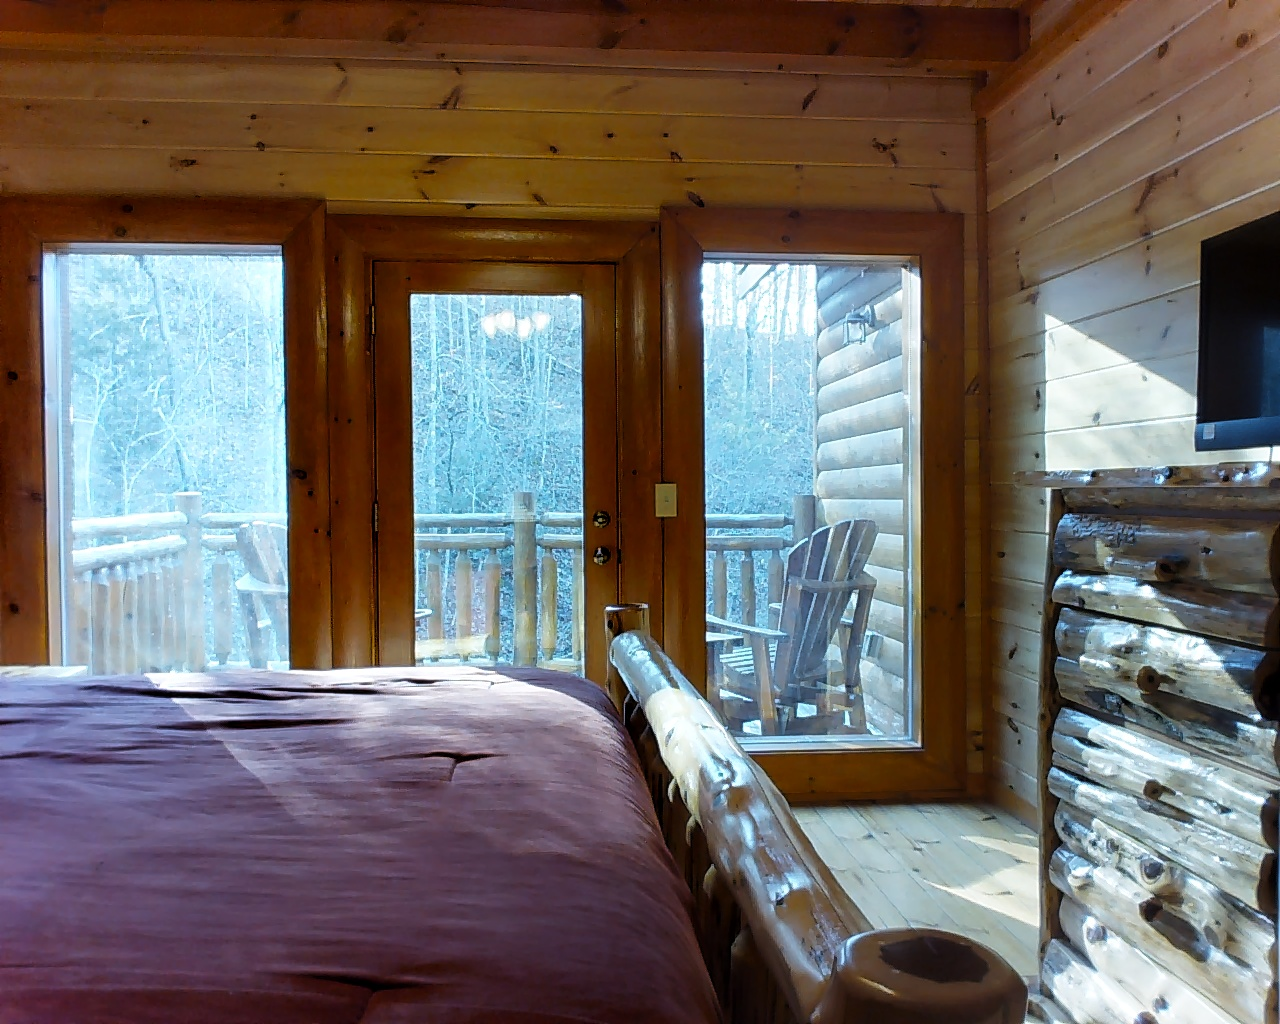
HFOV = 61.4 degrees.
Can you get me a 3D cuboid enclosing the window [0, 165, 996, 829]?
[{"bbox_3d":[-0.530,-0.040,3.970,3.749,2.341,0.060,0,0,-5],"label":"window"}]
